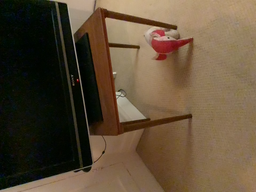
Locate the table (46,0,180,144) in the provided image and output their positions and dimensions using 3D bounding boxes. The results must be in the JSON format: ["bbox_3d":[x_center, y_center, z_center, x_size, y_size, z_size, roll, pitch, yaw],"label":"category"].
[{"bbox_3d":[-0.100,-0.110,1.130,0.420,0.490,0.610,-16,82,56],"label":"table"}]
